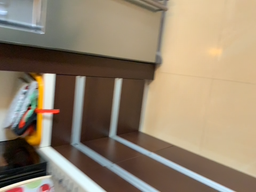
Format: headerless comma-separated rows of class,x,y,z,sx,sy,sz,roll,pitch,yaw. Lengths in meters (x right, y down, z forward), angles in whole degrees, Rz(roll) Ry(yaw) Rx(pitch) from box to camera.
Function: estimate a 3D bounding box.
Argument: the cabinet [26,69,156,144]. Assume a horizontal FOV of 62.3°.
cabinet,-0.200,0.040,1.470,0.250,0.870,0.370,14,101,45
